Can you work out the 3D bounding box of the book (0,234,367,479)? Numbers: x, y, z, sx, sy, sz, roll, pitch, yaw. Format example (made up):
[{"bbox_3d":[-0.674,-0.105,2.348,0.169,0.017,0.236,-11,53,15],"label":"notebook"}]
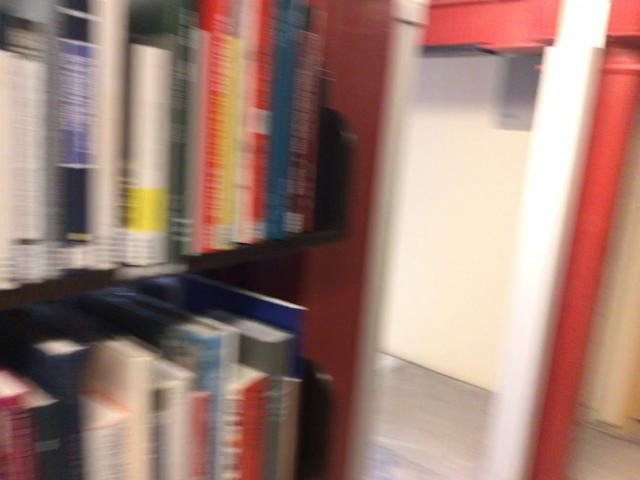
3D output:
[{"bbox_3d":[-0.270,0.230,0.720,0.340,0.350,0.590,14,17,41],"label":"book"}]

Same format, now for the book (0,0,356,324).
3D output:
[{"bbox_3d":[-0.220,-0.120,0.570,0.160,0.320,0.580,14,17,41],"label":"book"}]
